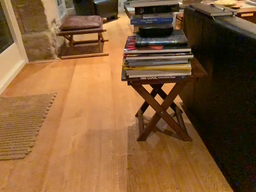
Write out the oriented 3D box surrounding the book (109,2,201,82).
[{"bbox_3d":[0.100,-0.290,1.060,0.360,0.260,0.390,-6,31,-2],"label":"book"}]
